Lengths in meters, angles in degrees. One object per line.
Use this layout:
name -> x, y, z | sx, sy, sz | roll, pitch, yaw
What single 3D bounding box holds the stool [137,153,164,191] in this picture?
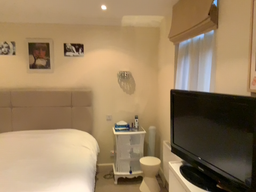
stool -> 0.310, 1.100, 3.040 | 0.300, 0.450, 0.300 | -1, 6, -11
